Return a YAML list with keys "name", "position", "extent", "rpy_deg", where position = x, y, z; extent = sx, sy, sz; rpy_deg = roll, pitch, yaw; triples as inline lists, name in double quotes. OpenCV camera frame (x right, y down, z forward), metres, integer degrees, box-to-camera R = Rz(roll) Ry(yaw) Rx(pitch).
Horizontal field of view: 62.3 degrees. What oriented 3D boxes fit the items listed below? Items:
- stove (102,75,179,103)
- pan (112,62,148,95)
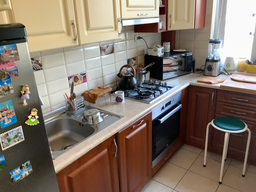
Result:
- name: "stove"
  position: [0.140, -0.100, 2.190]
  extent: [0.560, 0.040, 0.580]
  rpy_deg: [13, 25, 35]
- name: "pan"
  position: [0.030, -0.190, 2.200]
  extent: [0.240, 0.240, 0.320]
  rpy_deg: [10, 24, 29]
